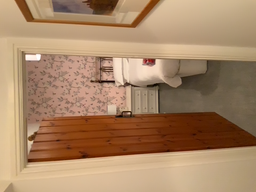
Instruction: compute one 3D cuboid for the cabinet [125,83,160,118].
[{"bbox_3d":[0.290,0.090,4.350,0.400,0.620,0.680,175,94,-76],"label":"cabinet"}]
